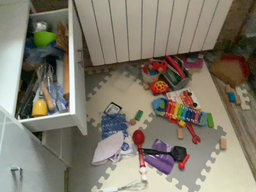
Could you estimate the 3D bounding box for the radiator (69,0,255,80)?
[{"bbox_3d":[0.180,-0.440,1.130,0.890,0.880,0.150,-6,60,-2],"label":"radiator"}]
